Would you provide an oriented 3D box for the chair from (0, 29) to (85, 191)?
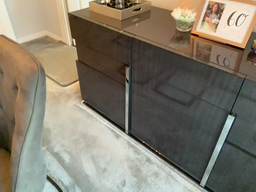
[{"bbox_3d":[-0.570,0.310,0.870,0.460,0.940,0.560,32,48,32],"label":"chair"}]
